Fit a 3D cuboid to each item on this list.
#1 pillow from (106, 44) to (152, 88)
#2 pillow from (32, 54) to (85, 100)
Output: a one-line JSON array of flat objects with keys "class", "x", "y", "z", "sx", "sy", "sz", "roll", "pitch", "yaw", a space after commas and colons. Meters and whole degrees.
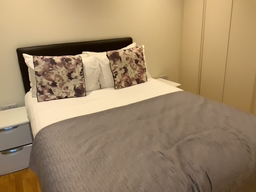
[{"class": "pillow", "x": 0.010, "y": -0.310, "z": 2.260, "sx": 0.420, "sy": 0.420, "sz": 0.150, "roll": -1, "pitch": 17, "yaw": -31}, {"class": "pillow", "x": -0.640, "y": -0.170, "z": 1.950, "sx": 0.430, "sy": 0.380, "sz": 0.170, "roll": -1, "pitch": 16, "yaw": -26}]
